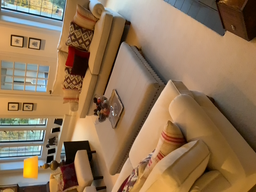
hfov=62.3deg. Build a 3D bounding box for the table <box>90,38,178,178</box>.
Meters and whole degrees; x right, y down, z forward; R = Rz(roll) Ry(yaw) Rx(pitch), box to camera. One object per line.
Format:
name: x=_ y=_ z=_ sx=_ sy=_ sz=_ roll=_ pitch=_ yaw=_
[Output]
table: x=-0.070 y=0.220 z=3.190 sx=1.040 sy=0.370 sz=1.810 roll=61 pitch=138 yaw=44
